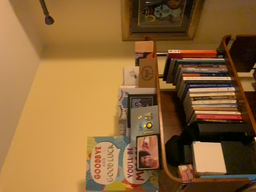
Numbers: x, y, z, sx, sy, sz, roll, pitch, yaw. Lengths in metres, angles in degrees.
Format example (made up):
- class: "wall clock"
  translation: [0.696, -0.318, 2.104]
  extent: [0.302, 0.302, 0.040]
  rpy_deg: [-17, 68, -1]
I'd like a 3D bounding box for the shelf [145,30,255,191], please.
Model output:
- class: "shelf"
  translation: [0.910, 0.060, 1.110]
  extent: [0.360, 1.590, 0.840]
  rpy_deg: [87, -177, -53]
